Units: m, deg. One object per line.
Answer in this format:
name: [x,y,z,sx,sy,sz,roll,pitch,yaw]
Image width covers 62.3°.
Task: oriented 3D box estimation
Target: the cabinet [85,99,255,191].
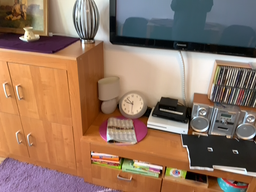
cabinet: [0.330,0.440,1.670,1.180,0.460,0.540,9,28,12]
